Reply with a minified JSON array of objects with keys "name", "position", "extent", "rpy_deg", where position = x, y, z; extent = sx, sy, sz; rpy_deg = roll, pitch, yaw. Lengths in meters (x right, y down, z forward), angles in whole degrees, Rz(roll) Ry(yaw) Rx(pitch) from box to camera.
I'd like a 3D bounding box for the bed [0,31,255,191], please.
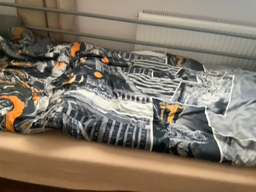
[{"name":"bed","position":[-0.240,0.140,1.210],"extent":[2.180,0.530,0.920],"rpy_deg":[7,38,0]}]
